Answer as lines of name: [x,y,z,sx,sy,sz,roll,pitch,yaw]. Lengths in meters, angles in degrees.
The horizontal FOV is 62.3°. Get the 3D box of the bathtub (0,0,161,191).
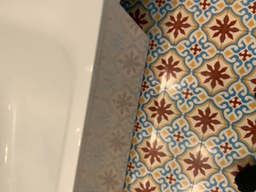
bathtub: [-0.430,0.340,0.910,0.740,0.560,2.130,11,95,17]
